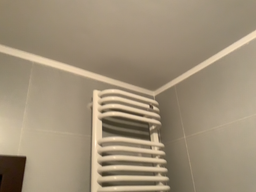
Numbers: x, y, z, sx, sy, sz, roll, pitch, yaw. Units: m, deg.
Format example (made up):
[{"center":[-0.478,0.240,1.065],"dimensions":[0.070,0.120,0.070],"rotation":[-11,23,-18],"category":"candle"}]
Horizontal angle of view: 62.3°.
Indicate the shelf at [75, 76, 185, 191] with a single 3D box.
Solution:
[{"center":[0.040,0.590,0.850],"dimensions":[0.460,1.290,0.210],"rotation":[18,-34,-39],"category":"shelf"}]
